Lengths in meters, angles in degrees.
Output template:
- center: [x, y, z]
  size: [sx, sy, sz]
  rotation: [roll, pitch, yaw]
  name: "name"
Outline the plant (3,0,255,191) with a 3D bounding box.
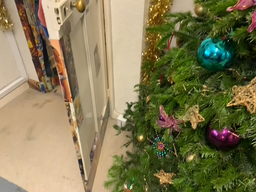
- center: [0.540, -0.110, 1.030]
  size: [1.330, 1.700, 1.260]
  rotation: [18, 43, 19]
  name: "plant"
